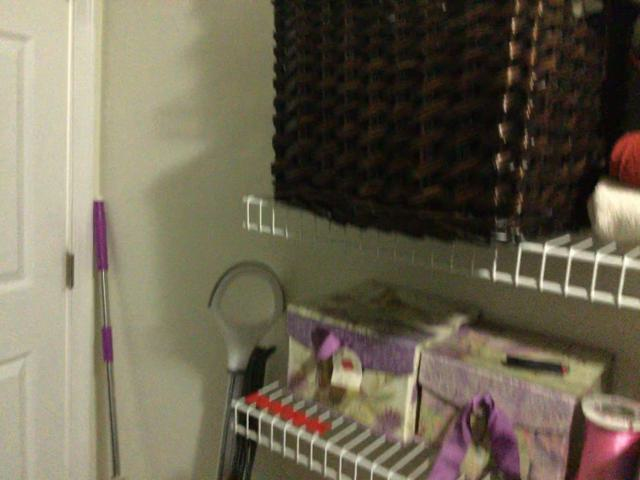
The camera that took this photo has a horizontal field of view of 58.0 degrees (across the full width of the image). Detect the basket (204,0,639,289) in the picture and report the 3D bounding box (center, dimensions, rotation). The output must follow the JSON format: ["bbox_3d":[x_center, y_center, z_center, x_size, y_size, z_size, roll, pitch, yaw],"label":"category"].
[{"bbox_3d":[0.130,-0.160,0.770,0.460,0.310,0.320,12,12,36],"label":"basket"}]

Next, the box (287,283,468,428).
[{"bbox_3d":[0.100,0.170,0.940,0.170,0.130,0.260,12,12,36],"label":"box"}]

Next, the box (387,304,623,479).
[{"bbox_3d":[0.270,0.200,0.830,0.240,0.120,0.250,12,12,36],"label":"box"}]

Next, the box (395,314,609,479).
[{"bbox_3d":[0.270,0.220,0.840,0.210,0.130,0.250,12,12,36],"label":"box"}]

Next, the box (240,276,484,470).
[{"bbox_3d":[0.070,0.190,0.950,0.290,0.170,0.260,12,12,36],"label":"box"}]
